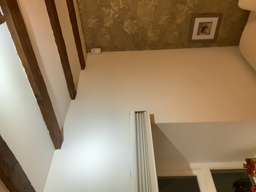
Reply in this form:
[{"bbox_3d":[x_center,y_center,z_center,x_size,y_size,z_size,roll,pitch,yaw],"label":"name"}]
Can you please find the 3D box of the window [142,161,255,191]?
[{"bbox_3d":[0.610,0.900,1.620,0.860,0.970,0.050,-90,-2,-49],"label":"window"}]
